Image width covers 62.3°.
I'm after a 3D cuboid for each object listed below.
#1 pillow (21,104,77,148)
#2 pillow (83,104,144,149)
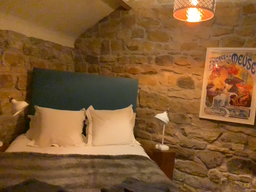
[{"bbox_3d":[-0.940,0.360,2.650,0.560,0.400,0.560,5,3,-13],"label":"pillow"},{"bbox_3d":[-0.220,0.390,2.850,0.690,0.470,0.490,5,3,-15],"label":"pillow"}]
